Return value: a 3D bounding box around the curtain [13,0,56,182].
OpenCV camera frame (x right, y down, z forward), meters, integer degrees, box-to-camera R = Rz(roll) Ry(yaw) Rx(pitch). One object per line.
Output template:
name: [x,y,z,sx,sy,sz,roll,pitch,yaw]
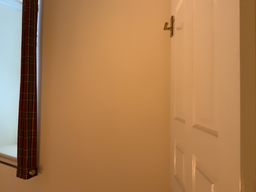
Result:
curtain: [-0.920,-0.350,2.110,0.320,2.250,0.220,0,179,33]
